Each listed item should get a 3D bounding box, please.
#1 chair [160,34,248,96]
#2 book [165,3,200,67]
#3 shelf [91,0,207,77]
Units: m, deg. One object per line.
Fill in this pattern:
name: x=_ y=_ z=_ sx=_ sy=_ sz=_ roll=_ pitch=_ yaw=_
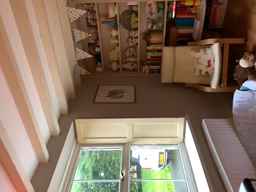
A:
chair: x=1.000 y=-0.440 z=3.080 sx=0.830 sy=0.970 sz=0.750 roll=-78 pitch=-12 yaw=-82
book: x=0.900 y=-1.010 z=3.620 sx=0.200 sy=0.440 sz=1.040 roll=-88 pitch=-3 yaw=-58
shelf: x=0.320 y=-1.040 z=3.650 sx=0.460 sy=1.710 sz=1.320 roll=-88 pitch=-3 yaw=-57
